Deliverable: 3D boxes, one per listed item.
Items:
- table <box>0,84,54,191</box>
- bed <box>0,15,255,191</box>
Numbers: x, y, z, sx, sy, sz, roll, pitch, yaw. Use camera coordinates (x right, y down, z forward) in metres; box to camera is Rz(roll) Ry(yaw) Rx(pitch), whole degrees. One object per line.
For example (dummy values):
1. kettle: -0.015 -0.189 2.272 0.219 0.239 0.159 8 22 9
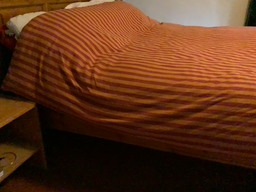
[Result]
1. table: -0.730 0.270 1.050 0.420 0.500 0.490 9 28 17
2. bed: 0.380 -0.160 1.700 2.180 0.680 1.700 9 28 16
